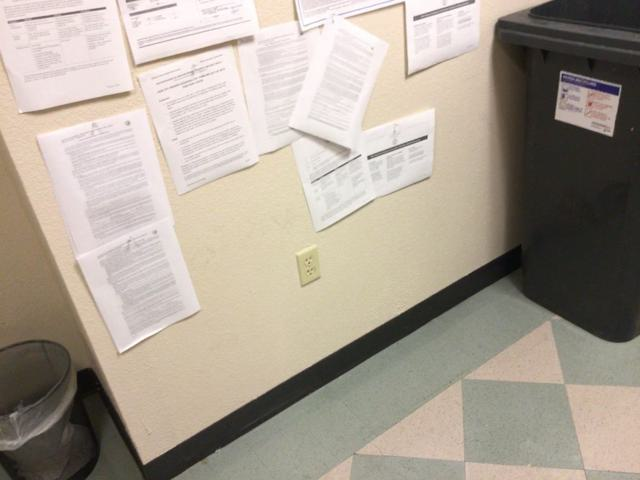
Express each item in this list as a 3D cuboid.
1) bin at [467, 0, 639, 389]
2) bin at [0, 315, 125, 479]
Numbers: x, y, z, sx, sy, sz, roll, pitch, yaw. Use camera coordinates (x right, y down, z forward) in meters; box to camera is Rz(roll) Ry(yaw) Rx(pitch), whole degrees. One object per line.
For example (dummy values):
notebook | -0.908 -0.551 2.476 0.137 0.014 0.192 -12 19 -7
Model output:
bin | 0.970 -0.250 1.780 0.710 1.030 0.620 -22 37 -25
bin | -0.800 0.500 1.640 0.310 0.350 0.350 -22 37 -25
